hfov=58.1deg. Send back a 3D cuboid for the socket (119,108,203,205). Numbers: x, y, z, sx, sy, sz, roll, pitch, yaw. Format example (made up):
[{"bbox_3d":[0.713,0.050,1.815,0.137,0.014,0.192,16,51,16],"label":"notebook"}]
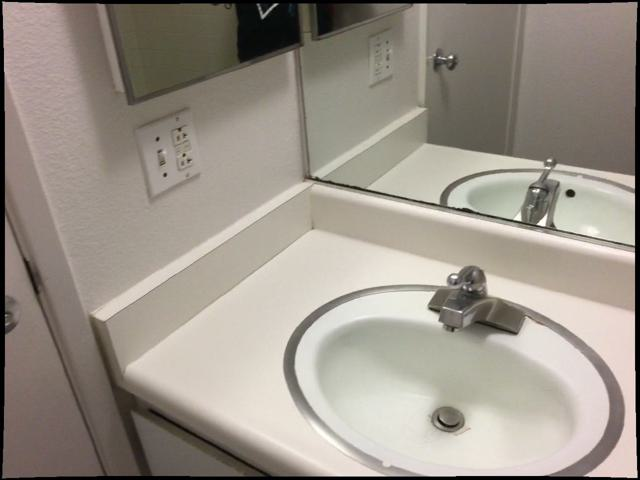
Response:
[{"bbox_3d":[-0.259,-0.140,0.960,0.020,0.120,0.130,14,36,32],"label":"socket"}]

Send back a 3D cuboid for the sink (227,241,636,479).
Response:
[{"bbox_3d":[0.170,0.241,0.920,0.509,0.260,0.320,14,36,32],"label":"sink"}]
